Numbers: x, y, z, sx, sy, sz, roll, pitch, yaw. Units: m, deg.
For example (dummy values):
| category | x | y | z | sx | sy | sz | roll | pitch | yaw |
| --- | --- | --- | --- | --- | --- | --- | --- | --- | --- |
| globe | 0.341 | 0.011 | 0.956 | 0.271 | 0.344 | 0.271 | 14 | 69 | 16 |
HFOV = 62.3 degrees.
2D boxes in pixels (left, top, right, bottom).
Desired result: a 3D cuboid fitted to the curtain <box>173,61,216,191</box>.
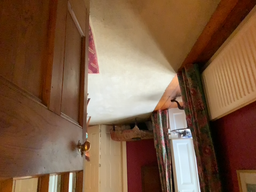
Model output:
| category | x | y | z | sx | sy | sz | roll | pitch | yaw |
| --- | --- | --- | --- | --- | --- | --- | --- | --- | --- |
| curtain | 0.710 | 0.860 | 2.150 | 0.180 | 2.460 | 0.420 | -2 | 163 | -1 |
